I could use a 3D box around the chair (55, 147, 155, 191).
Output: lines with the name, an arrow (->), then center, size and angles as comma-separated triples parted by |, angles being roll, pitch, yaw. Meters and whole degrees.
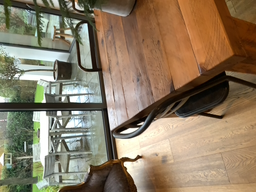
chair -> -0.250, 1.090, 2.270 | 0.660, 0.830, 0.770 | -58, 42, 41
